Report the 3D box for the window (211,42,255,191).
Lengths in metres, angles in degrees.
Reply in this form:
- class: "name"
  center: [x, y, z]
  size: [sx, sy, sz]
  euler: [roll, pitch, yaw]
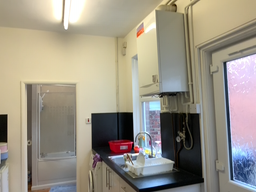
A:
- class: "window"
  center: [0.950, 0.170, 1.500]
  size: [0.150, 1.090, 0.750]
  euler: [0, -4, -23]
